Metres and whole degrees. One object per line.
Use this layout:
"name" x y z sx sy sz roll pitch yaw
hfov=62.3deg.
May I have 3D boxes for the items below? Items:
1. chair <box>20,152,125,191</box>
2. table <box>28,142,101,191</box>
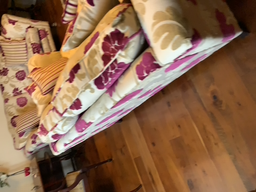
"chair" -0.630 1.100 2.450 0.550 0.980 0.540 -37 68 51
"table" -0.960 1.270 3.170 0.690 0.730 0.850 -40 66 50
